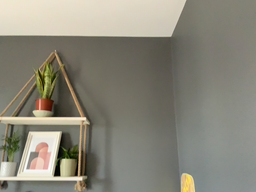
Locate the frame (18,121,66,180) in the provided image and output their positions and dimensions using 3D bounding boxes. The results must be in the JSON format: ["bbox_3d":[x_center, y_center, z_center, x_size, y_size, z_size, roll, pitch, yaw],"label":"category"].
[{"bbox_3d":[-0.640,0.410,1.610,0.260,0.410,0.160,1,-14,-1],"label":"frame"}]
